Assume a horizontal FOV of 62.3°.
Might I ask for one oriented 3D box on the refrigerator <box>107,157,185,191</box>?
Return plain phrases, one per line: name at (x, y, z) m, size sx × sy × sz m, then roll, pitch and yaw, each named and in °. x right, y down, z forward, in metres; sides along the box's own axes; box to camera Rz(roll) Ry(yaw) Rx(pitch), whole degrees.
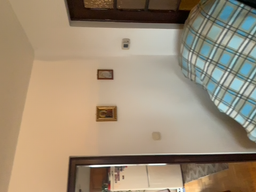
refrigerator at (0.370, 1.860, 5.030) m, size 0.470 × 1.750 × 0.670 m, roll 103°, pitch 166°, yaw -66°
